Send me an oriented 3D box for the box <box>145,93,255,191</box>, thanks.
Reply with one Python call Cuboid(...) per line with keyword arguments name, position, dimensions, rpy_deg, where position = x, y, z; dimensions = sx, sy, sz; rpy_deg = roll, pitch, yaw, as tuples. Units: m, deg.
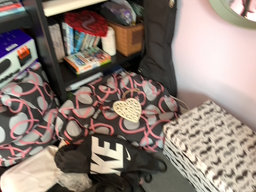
Cuboid(name="box", position=(0.340, 0.240, 0.850), dimensions=(0.320, 0.200, 0.430), rpy_deg=(-31, 51, -29))
